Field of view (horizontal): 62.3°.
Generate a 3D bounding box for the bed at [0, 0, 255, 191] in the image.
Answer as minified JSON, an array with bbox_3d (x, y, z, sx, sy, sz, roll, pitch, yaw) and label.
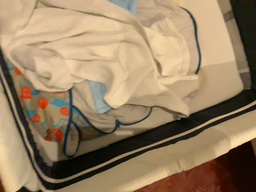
[{"bbox_3d":[-0.070,-0.350,0.750,0.740,0.740,1.030,-19,94,-11],"label":"bed"}]
